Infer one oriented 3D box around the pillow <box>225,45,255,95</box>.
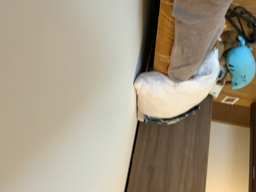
[{"bbox_3d":[0.930,-0.190,1.740,0.200,0.190,0.470,1,158,29],"label":"pillow"}]
